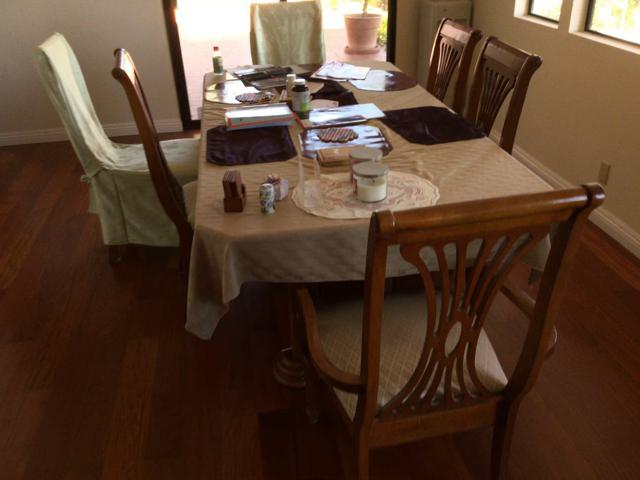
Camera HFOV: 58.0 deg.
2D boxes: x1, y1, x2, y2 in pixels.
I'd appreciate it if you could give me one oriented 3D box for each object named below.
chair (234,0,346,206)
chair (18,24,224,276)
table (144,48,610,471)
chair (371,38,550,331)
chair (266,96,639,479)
[{"bbox_3d":[-0.180,-0.850,3.480,0.530,1.080,0.630,-6,27,-7],"label":"chair"},{"bbox_3d":[-0.890,-0.460,2.850,0.690,1.040,0.600,-7,27,-7],"label":"chair"},{"bbox_3d":[0.020,-0.220,2.600,1.200,0.850,2.170,-6,27,-7],"label":"table"},{"bbox_3d":[0.500,-0.230,2.330,0.450,1.040,0.510,-4,26,-8],"label":"chair"},{"bbox_3d":[0.270,0.250,1.500,0.680,1.040,0.670,-7,27,-7],"label":"chair"}]
